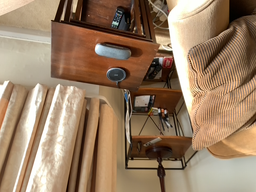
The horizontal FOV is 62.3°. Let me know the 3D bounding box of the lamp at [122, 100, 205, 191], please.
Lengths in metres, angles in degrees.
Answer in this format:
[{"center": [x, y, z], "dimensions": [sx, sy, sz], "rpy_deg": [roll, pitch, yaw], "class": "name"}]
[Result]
[{"center": [0.220, 0.540, 1.210], "dimensions": [0.370, 0.860, 0.500], "rpy_deg": [-10, 142, 10], "class": "lamp"}]
